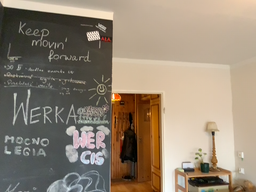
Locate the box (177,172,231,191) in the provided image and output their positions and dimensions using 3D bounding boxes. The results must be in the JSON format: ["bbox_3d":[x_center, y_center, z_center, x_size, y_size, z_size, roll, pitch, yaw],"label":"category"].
[{"bbox_3d":[1.040,1.290,2.930,0.590,0.360,0.380,1,-6,-8],"label":"box"}]
